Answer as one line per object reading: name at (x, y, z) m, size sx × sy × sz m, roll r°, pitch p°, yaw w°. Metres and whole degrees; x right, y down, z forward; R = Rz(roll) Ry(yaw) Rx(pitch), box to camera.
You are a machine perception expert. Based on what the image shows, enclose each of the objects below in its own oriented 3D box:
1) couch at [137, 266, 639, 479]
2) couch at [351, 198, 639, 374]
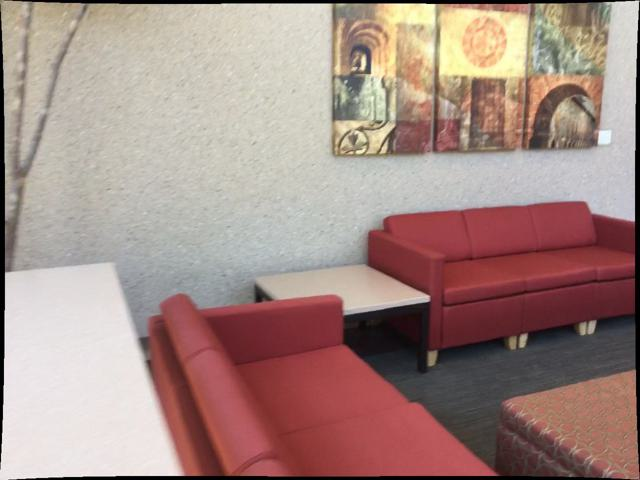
couch at (0.040, 0.711, 1.610) m, size 0.879 × 0.841 × 2.020 m, roll -3°, pitch 10°, yaw -21°
couch at (1.288, 0.200, 3.860) m, size 1.967 × 0.831 × 0.880 m, roll -3°, pitch 10°, yaw -22°
